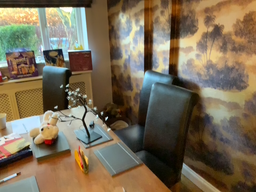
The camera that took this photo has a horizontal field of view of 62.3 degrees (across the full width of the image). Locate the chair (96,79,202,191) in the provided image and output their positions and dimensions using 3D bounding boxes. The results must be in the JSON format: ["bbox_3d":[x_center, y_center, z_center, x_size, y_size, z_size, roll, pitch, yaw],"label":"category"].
[{"bbox_3d":[0.160,0.490,1.710,0.630,1.090,0.430,-15,24,-33],"label":"chair"}]

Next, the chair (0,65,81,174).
[{"bbox_3d":[-0.990,0.240,2.530,0.450,1.070,0.590,11,23,30],"label":"chair"}]

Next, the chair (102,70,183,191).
[{"bbox_3d":[0.150,0.330,2.240,0.630,1.050,0.460,-15,24,-33],"label":"chair"}]
